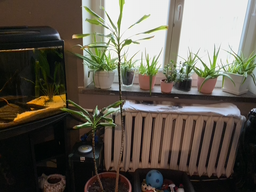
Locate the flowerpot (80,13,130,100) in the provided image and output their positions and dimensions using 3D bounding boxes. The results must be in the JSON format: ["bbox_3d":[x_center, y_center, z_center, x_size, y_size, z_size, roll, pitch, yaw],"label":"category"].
[{"bbox_3d":[-0.190,-0.350,1.870,0.370,0.690,0.340,2,19,-2],"label":"flowerpot"}]

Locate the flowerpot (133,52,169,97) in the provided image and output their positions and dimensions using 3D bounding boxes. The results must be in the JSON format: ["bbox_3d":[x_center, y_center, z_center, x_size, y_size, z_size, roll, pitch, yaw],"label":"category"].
[{"bbox_3d":[0.200,-0.200,1.950,0.270,0.350,0.260,2,19,-3],"label":"flowerpot"}]

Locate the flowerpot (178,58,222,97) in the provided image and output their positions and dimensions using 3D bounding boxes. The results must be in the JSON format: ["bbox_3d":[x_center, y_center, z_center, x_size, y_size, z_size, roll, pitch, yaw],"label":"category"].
[{"bbox_3d":[0.630,-0.170,1.900,0.280,0.290,0.220,2,19,-2],"label":"flowerpot"}]

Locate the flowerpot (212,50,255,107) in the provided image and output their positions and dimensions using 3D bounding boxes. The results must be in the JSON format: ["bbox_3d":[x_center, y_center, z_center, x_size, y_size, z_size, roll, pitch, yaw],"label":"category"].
[{"bbox_3d":[0.950,-0.160,1.850,0.260,0.440,0.240,2,19,-2],"label":"flowerpot"}]

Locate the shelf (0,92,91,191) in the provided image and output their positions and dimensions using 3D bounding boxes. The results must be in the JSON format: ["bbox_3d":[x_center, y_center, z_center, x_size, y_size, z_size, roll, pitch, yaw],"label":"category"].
[{"bbox_3d":[-0.860,0.460,1.580,0.640,0.670,0.950,19,25,38],"label":"shelf"}]
